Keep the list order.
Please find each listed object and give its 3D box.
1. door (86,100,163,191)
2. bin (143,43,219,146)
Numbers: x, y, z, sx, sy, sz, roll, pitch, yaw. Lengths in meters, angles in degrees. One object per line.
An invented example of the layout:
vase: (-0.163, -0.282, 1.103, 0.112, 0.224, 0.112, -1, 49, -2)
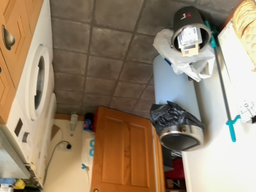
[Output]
door: (-0.010, 1.040, 2.110, 0.820, 2.030, 0.110, 15, 146, -25)
bin: (0.350, -0.010, 1.600, 0.360, 0.670, 0.340, 5, 149, -10)
